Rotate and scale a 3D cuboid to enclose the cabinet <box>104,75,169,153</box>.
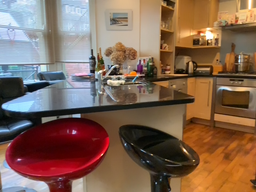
[{"bbox_3d":[0.120,0.180,2.910,0.610,0.880,0.620,7,12,40],"label":"cabinet"}]

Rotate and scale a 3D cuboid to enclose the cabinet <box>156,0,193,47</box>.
[{"bbox_3d":[0.810,-1.330,3.670,0.400,0.910,0.540,7,12,40],"label":"cabinet"}]

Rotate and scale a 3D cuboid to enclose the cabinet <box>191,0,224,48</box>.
[{"bbox_3d":[1.410,-1.340,3.750,0.410,0.910,0.360,7,12,40],"label":"cabinet"}]

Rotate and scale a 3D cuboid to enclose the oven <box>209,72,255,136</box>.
[{"bbox_3d":[1.810,0.080,3.470,0.680,0.880,0.630,7,12,40],"label":"oven"}]
